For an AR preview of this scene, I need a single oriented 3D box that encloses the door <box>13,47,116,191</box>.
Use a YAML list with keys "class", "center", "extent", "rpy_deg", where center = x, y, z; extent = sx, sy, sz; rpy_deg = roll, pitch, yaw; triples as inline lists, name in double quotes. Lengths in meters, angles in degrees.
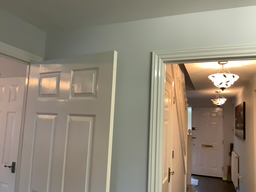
- class: "door"
  center: [-0.500, 0.670, 1.430]
  extent: [0.840, 1.940, 0.050]
  rpy_deg: [-1, -7, 31]
